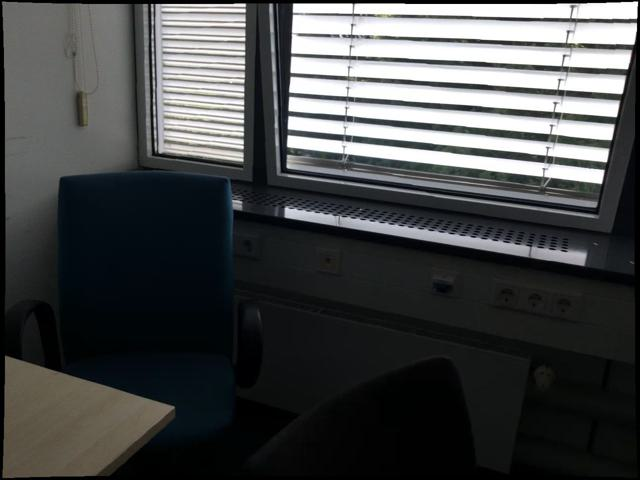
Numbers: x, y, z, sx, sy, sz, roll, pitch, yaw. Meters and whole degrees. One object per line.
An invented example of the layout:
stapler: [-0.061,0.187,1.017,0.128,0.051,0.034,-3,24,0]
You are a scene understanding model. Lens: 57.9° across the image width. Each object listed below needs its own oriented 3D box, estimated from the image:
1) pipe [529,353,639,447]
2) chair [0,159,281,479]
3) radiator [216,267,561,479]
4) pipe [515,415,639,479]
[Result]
pipe: [0.859,0.480,1.690,0.440,0.160,0.110,11,22,22]
chair: [-0.450,0.340,1.560,0.649,0.971,0.660,2,20,-2]
radiator: [0.180,0.460,1.930,1.079,0.500,0.230,11,22,22]
pipe: [0.839,0.711,1.750,0.450,0.190,0.140,11,22,22]
